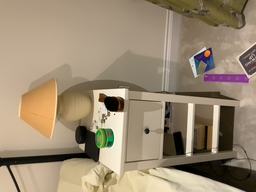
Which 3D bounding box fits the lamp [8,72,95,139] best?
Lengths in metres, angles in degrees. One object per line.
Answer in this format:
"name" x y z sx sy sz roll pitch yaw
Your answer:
"lamp" -0.400 0.050 1.080 0.320 0.340 0.270 0 85 59
